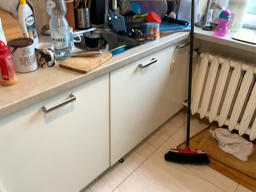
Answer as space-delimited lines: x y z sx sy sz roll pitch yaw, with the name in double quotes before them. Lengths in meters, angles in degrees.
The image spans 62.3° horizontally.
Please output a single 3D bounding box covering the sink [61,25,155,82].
"sink" -0.130 -0.300 1.360 0.480 0.150 0.350 27 40 33
